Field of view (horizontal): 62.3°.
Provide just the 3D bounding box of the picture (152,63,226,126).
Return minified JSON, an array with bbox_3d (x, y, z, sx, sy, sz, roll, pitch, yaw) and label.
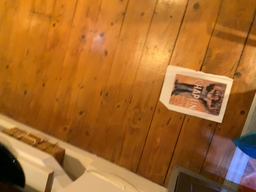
[{"bbox_3d":[0.280,-0.010,1.000,0.280,0.020,0.230,16,97,16],"label":"picture"}]
